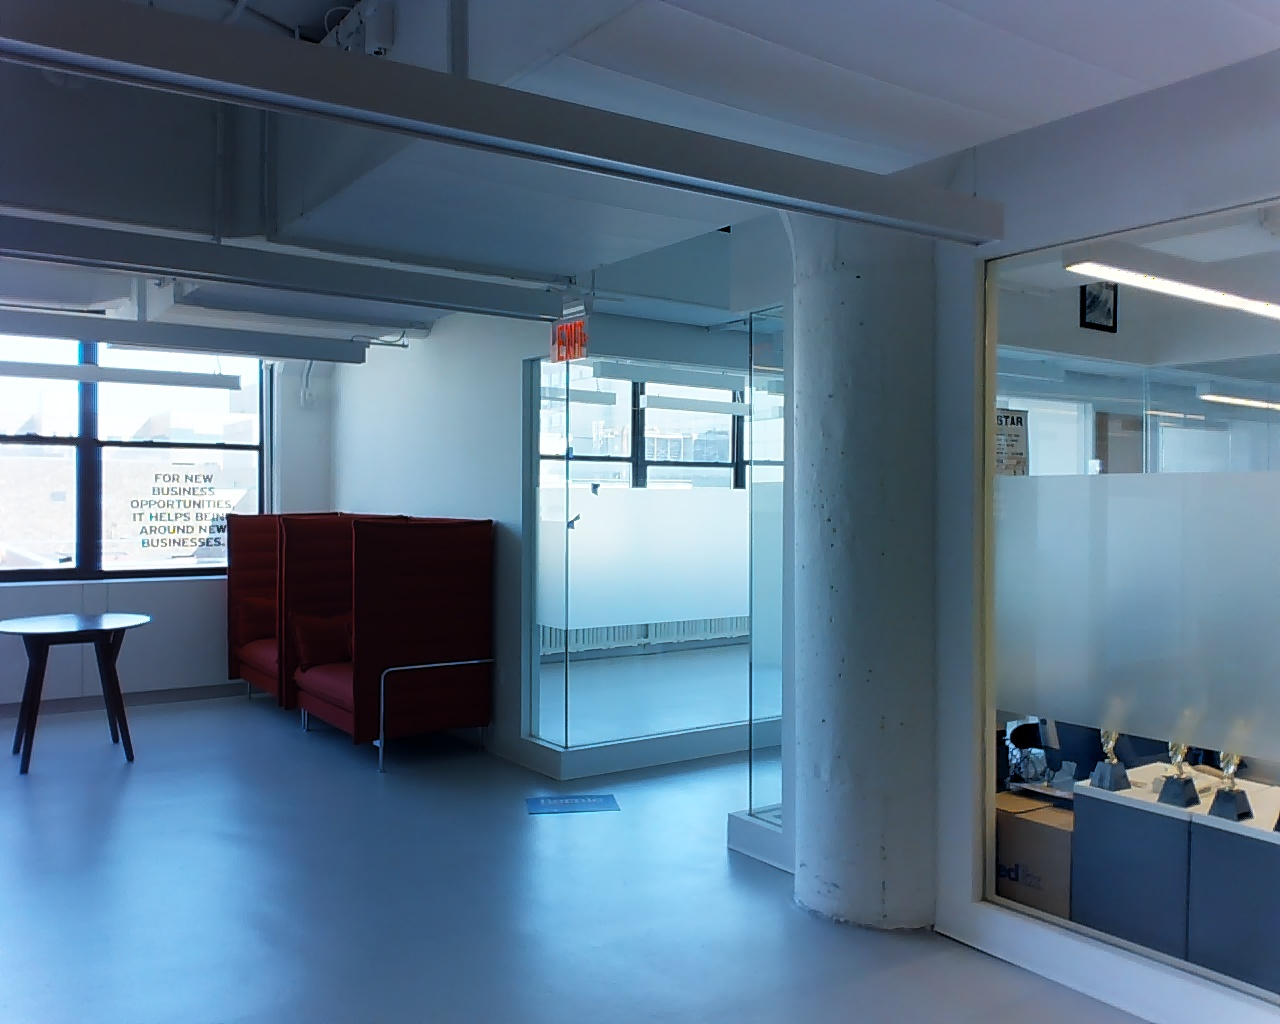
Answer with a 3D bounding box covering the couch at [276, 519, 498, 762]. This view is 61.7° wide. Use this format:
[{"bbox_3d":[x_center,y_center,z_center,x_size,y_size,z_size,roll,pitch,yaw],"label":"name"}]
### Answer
[{"bbox_3d":[-1.550,0.690,6.450,0.880,1.280,1.250,1,0,-36],"label":"couch"}]
